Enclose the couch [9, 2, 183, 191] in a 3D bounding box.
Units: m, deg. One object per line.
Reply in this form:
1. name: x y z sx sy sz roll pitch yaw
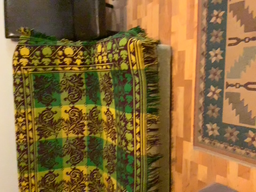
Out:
1. couch: -0.310 0.520 1.670 1.050 0.900 1.960 7 98 52
